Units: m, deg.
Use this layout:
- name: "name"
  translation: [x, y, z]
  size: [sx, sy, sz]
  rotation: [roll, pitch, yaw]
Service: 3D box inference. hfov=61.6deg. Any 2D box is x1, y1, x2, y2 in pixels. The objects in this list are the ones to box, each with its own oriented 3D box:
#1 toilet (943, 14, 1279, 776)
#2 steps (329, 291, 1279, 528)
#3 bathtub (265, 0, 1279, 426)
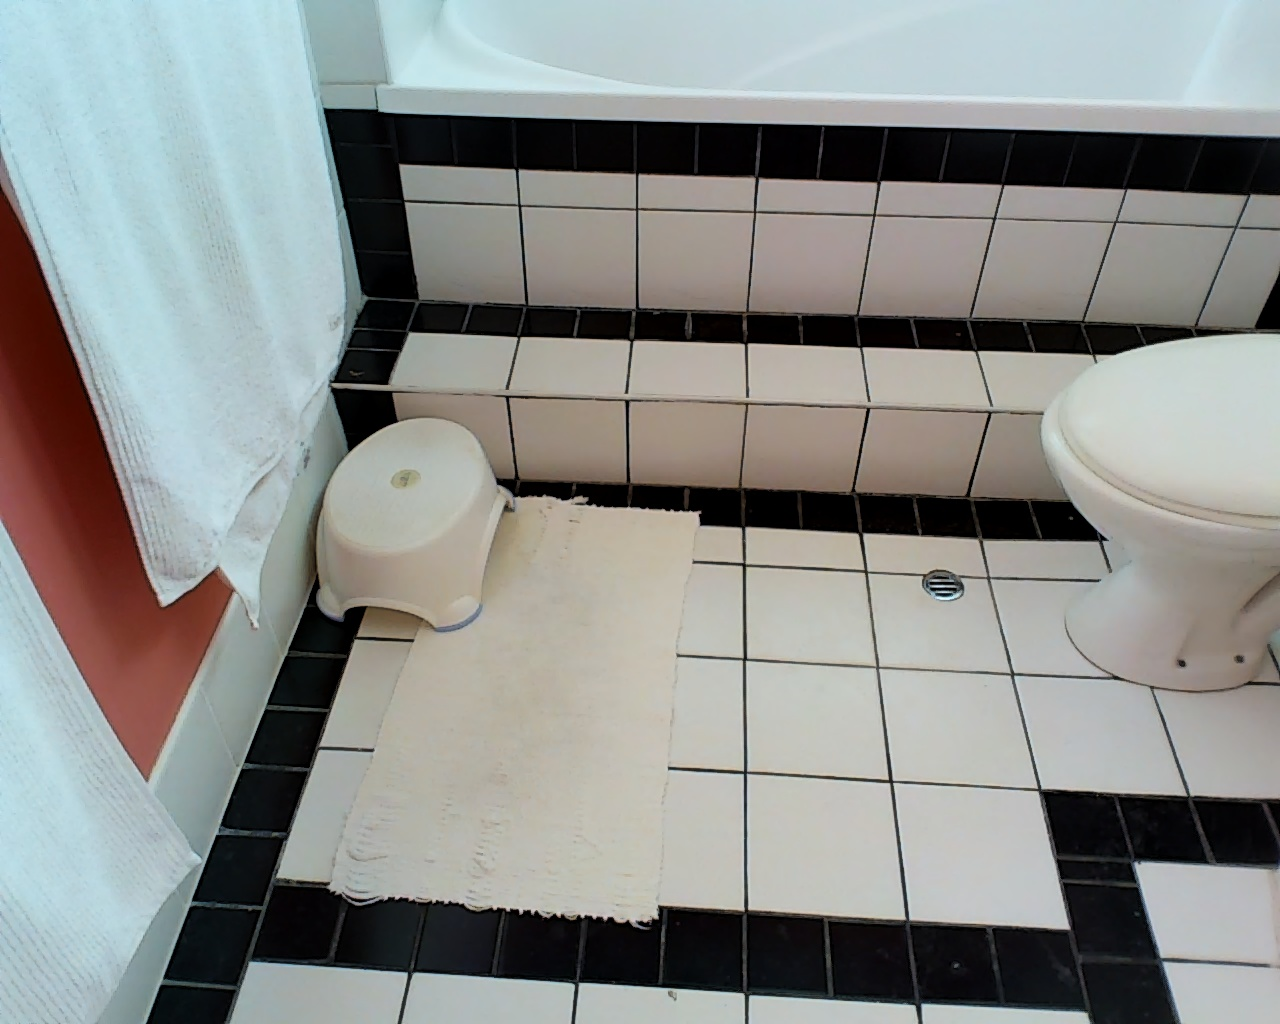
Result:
- name: "toilet"
  translation: [0.840, -0.100, 1.390]
  size: [0.650, 0.880, 0.440]
  rotation: [3, 43, 2]
- name: "steps"
  translation: [0.340, -0.190, 1.930]
  size: [1.700, 0.230, 0.280]
  rotation: [3, 43, 2]
- name: "bathtub"
  translation: [0.330, -0.680, 2.130]
  size: [1.800, 0.600, 0.750]
  rotation: [3, 43, 2]
